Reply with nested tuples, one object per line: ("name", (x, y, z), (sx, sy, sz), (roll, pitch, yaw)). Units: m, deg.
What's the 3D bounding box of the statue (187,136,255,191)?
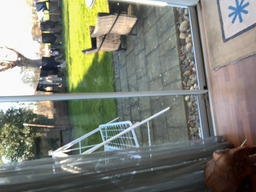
("statue", (0.830, 0.610, 1.730), (0.270, 0.450, 0.480), (-113, 29, -43))
